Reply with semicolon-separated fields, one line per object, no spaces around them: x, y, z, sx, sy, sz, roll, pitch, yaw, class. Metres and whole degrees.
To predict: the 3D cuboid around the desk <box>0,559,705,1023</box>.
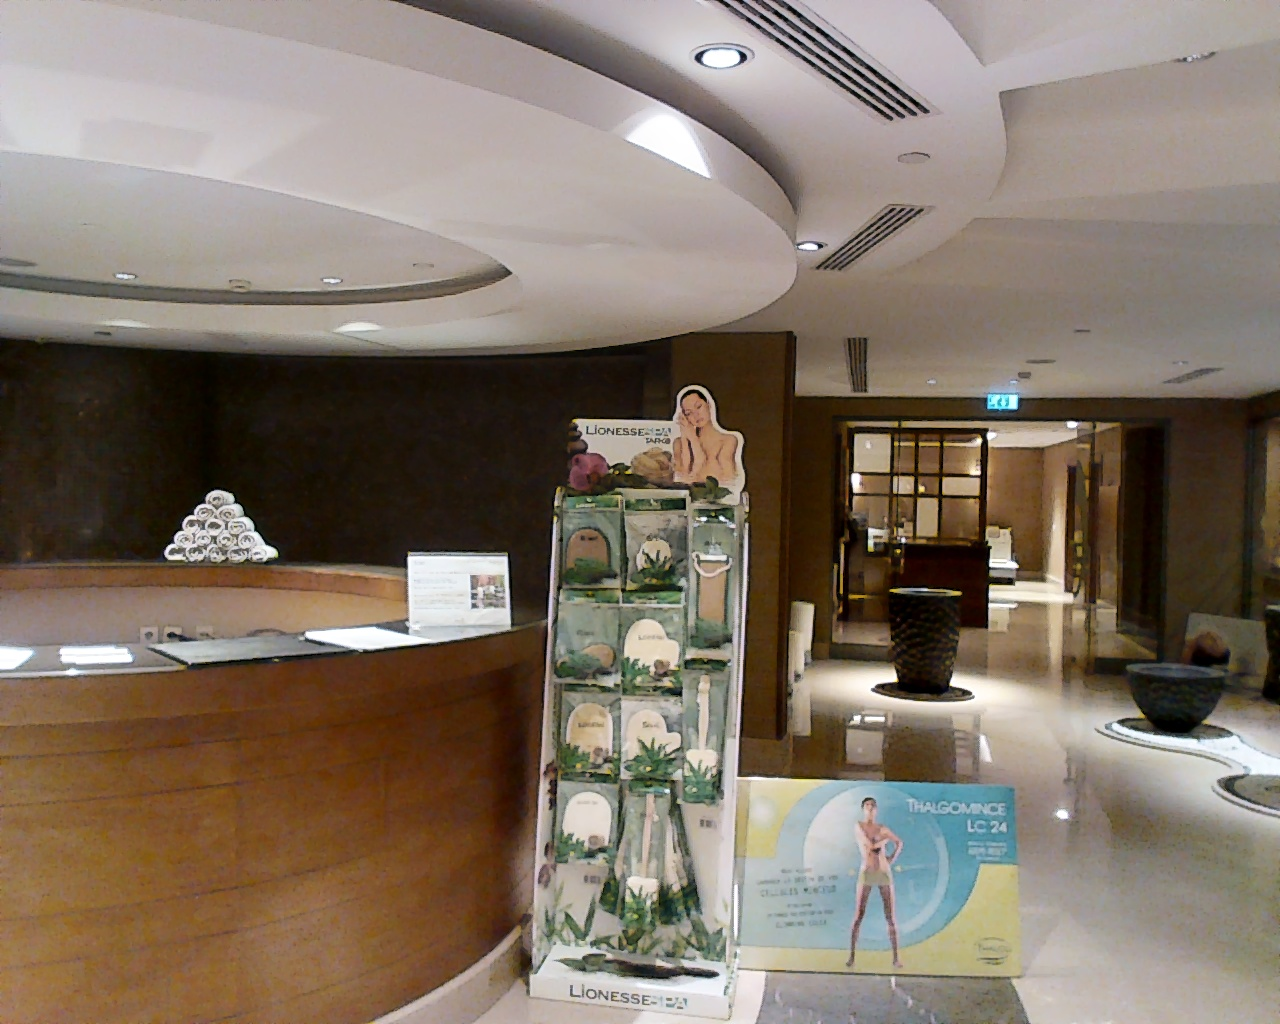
-1.950;0.920;3.950;3.569;1.220;3.680;1;0;17;desk
